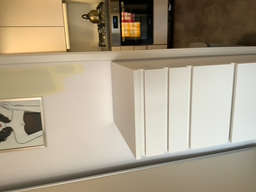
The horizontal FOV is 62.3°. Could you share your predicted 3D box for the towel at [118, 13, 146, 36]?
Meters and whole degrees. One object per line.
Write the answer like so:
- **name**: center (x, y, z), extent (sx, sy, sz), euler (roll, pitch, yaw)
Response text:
- **towel**: center (0.050, -0.950, 2.830), extent (0.160, 0.330, 0.280), euler (-142, 49, -70)
